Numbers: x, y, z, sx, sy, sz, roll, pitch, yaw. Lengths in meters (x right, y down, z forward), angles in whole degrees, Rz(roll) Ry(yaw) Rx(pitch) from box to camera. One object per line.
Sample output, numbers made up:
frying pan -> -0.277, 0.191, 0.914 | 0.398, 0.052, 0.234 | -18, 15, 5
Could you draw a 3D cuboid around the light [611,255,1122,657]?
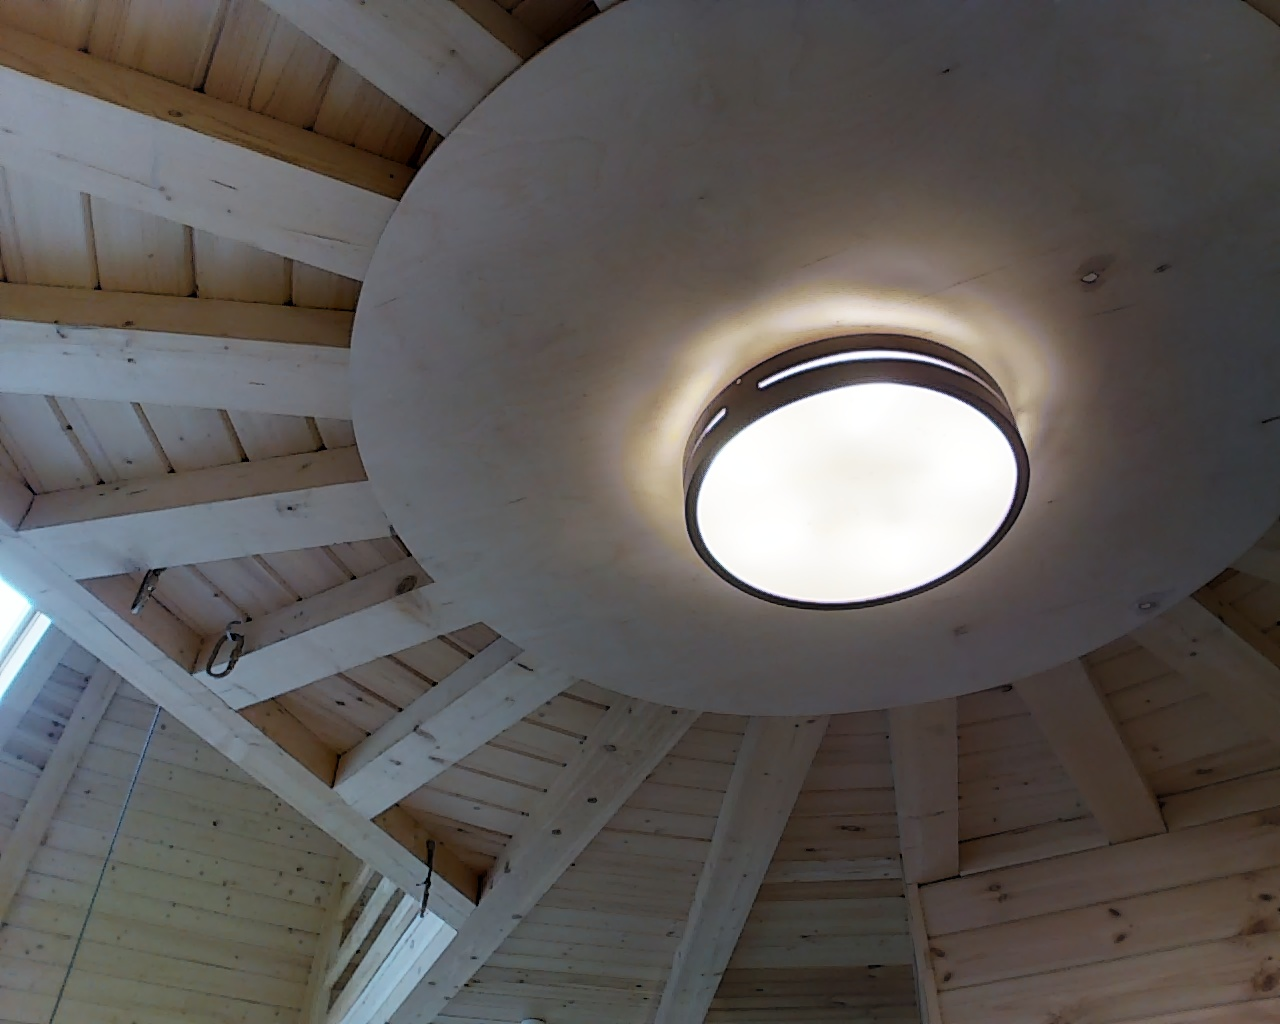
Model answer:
light -> 0.330, -0.040, 1.630 | 0.530, 0.110, 0.530 | 30, -50, -28
